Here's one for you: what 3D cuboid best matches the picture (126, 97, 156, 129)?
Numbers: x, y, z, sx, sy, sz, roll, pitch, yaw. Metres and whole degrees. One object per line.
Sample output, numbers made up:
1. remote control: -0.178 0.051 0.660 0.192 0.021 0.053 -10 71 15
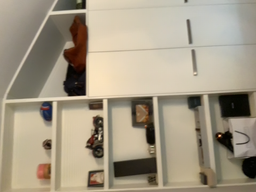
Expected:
1. picture: 0.120 0.160 1.990 0.050 0.200 0.240 -10 -100 -77
